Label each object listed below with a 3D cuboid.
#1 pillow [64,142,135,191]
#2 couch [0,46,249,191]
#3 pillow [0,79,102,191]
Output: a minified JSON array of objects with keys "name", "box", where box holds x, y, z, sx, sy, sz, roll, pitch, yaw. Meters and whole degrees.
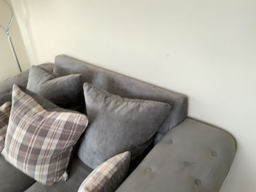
[{"name":"pillow","box":[-0.140,0.410,0.970,0.130,0.280,0.280,38,45,17]},{"name":"couch","box":[-0.390,0.340,1.320,1.710,0.740,0.930,21,40,31]},{"name":"pillow","box":[-0.460,0.250,1.100,0.550,0.430,0.210,29,44,9]}]
